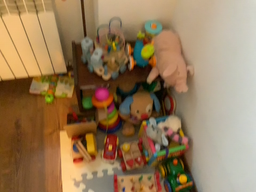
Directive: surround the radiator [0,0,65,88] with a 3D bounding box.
[{"bbox_3d":[-0.800,-0.270,1.210,0.760,0.610,0.120,-9,60,-13],"label":"radiator"}]
